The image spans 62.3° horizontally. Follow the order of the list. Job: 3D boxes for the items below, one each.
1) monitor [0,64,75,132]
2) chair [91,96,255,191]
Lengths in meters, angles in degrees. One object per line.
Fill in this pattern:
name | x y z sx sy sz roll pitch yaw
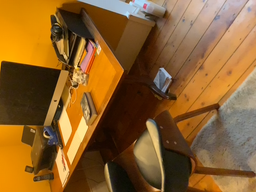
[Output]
monitor | -0.760 0.050 1.730 0.670 0.470 0.040 -60 44 33
chair | 0.270 0.390 1.290 0.580 0.720 0.490 -55 47 37
